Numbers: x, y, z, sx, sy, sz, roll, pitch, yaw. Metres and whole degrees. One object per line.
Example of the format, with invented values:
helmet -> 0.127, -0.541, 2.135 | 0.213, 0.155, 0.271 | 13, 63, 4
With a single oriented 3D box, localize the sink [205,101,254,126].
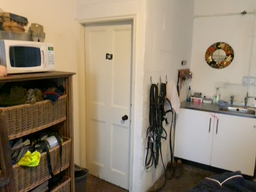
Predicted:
sink -> 1.400, 0.220, 2.900 | 0.540, 0.150, 0.510 | 7, 13, 30
